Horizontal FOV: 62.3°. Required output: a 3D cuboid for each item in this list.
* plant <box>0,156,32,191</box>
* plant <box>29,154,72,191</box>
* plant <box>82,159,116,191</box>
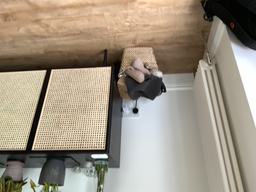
[{"bbox_3d":[-0.800,0.560,1.420,0.190,0.280,0.140,-3,150,7],"label":"plant"},{"bbox_3d":[-0.500,0.590,1.360,0.160,0.380,0.190,-3,150,7],"label":"plant"},{"bbox_3d":[-0.190,0.680,1.410,0.160,0.460,0.240,-4,150,8],"label":"plant"}]
